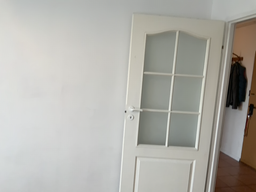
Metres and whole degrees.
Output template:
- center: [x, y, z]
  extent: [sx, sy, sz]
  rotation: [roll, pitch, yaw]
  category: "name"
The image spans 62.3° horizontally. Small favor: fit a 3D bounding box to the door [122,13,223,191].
- center: [0.380, 0.310, 1.990]
  extent: [0.760, 2.010, 0.070]
  rotation: [4, 7, -7]
  category: "door"
